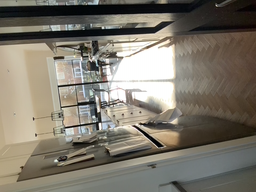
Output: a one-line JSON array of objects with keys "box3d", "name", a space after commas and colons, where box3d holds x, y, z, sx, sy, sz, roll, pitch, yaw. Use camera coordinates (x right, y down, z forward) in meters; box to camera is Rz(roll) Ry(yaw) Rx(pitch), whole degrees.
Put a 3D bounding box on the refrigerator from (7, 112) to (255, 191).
[{"box3d": [0.110, 0.680, 1.890, 0.880, 1.820, 0.730, -163, 67, -75], "name": "refrigerator"}]
